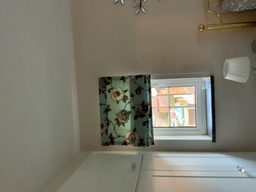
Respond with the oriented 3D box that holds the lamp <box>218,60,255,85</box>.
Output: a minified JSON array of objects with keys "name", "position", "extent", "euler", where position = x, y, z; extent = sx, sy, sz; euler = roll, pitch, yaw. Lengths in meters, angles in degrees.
[{"name":"lamp","position":[1.000,-0.200,1.800],"extent":[0.210,0.390,0.190],"euler":[-34,-58,-81]}]
